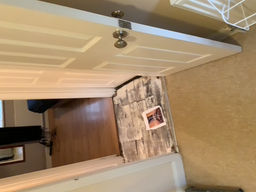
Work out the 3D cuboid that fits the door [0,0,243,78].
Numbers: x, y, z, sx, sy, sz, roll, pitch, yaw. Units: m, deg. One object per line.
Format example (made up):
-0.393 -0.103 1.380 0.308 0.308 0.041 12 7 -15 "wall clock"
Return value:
-0.300 -0.220 1.110 0.810 1.950 0.040 -12 82 54 "door"
